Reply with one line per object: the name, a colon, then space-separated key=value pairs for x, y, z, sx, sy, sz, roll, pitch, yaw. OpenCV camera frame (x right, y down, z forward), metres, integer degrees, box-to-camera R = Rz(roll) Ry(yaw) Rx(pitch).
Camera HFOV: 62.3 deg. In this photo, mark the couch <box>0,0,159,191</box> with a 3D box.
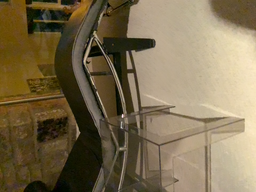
couch: x=-0.300 y=0.090 z=1.290 sx=0.600 sy=0.670 sz=1.470 roll=4 pitch=101 yaw=58
